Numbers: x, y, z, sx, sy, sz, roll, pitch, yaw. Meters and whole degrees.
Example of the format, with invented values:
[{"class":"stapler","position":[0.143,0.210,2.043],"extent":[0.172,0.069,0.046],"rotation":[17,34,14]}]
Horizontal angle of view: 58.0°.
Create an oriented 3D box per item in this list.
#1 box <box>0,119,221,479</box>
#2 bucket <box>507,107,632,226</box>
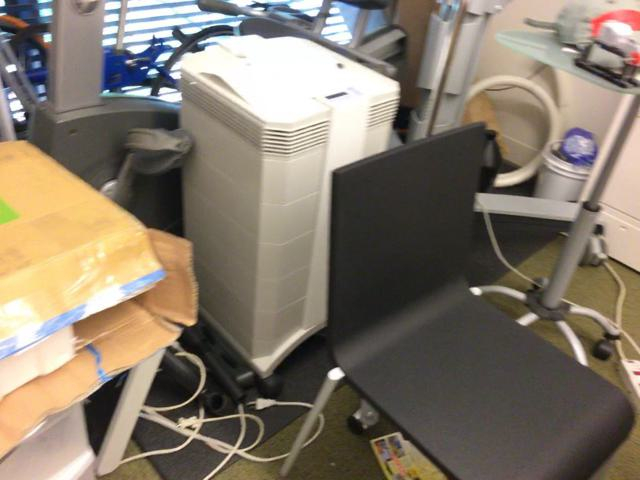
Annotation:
[{"class":"box","position":[-0.530,0.070,0.930],"extent":[0.550,0.270,0.480],"rotation":[29,41,34]},{"class":"bucket","position":[0.980,-0.300,2.290],"extent":[0.300,0.330,0.270],"rotation":[-24,42,-35]}]
